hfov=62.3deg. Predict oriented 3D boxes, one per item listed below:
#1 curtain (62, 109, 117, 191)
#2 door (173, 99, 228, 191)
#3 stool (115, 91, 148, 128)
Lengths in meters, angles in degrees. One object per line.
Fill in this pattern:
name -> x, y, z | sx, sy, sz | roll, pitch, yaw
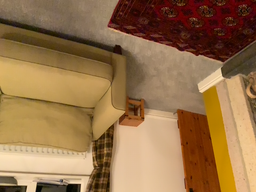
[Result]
curtain -> -0.390, 1.130, 2.070 | 0.520, 2.030, 0.130 | 10, 152, -21
door -> 0.970, 1.070, 2.670 | 0.690, 2.090, 0.090 | 14, 151, -27
stool -> 0.030, 0.180, 2.630 | 0.310, 0.340, 0.290 | 9, 152, -20
